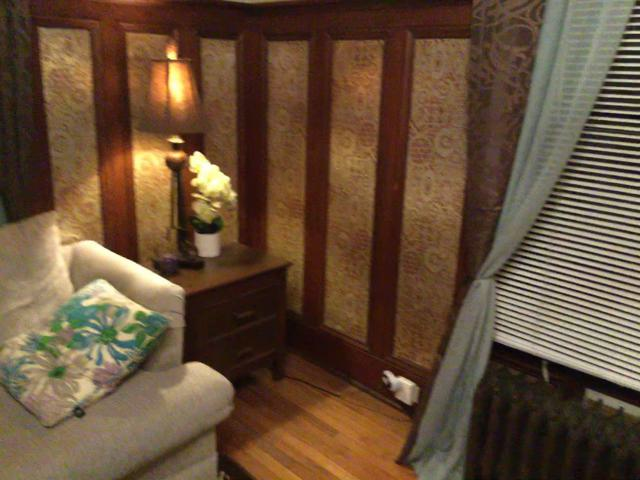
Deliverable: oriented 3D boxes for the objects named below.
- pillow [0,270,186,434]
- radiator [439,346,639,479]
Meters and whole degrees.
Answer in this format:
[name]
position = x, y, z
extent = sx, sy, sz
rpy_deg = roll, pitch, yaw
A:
[pillow]
position = -0.810, 0.310, 1.860
extent = 0.510, 0.240, 0.570
rpy_deg = -10, 17, -44
[radiator]
position = 1.020, 0.750, 1.540
extent = 0.320, 0.460, 1.420
rpy_deg = -10, 17, -44
